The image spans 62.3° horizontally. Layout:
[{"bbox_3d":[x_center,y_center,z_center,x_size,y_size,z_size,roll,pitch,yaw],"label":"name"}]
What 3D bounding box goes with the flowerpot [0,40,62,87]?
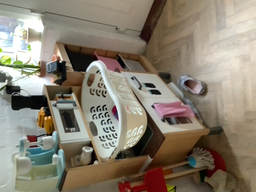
[{"bbox_3d":[-0.880,-0.270,1.760,0.370,0.550,0.170,60,136,39],"label":"flowerpot"}]
